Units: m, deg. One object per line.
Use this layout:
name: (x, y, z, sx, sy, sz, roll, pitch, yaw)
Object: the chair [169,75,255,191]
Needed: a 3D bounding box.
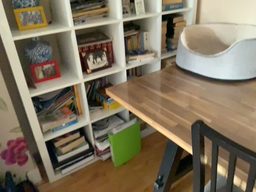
chair: (0.510, 0.470, 0.900, 0.490, 0.920, 0.460, -25, 35, -34)
